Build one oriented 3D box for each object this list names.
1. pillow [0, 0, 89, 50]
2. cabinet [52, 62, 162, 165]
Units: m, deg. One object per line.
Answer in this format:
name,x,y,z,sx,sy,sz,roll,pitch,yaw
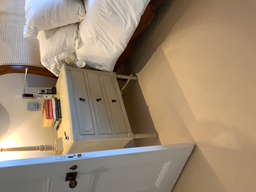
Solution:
pillow,-0.730,-0.860,1.960,0.270,0.550,0.750,-51,18,44
cabinet,-0.240,0.150,2.020,0.450,0.790,0.760,-55,44,45
